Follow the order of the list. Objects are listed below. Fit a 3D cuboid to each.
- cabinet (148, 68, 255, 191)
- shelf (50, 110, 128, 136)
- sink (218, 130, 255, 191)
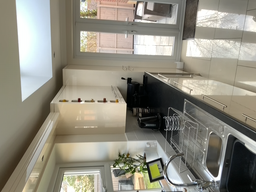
[{"bbox_3d":[1.040,0.420,1.310,3.760,0.850,0.640,-122,34,-72],"label":"cabinet"},{"bbox_3d":[-0.420,0.290,2.350,0.220,0.800,0.200,-122,34,-72],"label":"shelf"},{"bbox_3d":[0.720,0.460,1.190,0.320,0.190,0.440,-122,34,-72],"label":"sink"}]
